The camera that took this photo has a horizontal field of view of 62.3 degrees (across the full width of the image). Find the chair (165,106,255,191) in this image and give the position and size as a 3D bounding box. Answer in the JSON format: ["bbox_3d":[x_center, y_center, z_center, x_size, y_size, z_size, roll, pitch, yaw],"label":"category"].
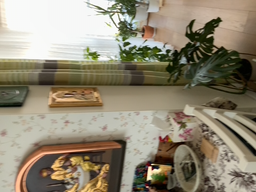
[{"bbox_3d":[0.750,0.350,1.060,0.410,0.960,0.470,-122,35,-61],"label":"chair"}]
